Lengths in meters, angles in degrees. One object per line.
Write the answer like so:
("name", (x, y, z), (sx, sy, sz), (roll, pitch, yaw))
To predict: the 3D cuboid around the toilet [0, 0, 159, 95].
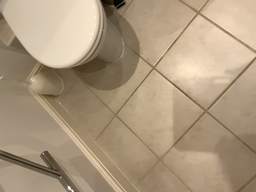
("toilet", (-0.350, -0.390, 0.880), (0.680, 0.780, 0.410), (43, 104, 17))
